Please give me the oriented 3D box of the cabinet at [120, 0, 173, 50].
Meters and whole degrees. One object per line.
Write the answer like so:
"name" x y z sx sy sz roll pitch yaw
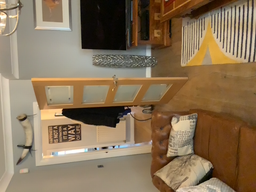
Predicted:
"cabinet" 0.270 -1.360 3.460 0.700 0.630 1.140 -156 66 -71

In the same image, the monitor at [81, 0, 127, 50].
"monitor" -0.360 -1.350 3.250 0.080 0.700 1.220 -158 68 -71
